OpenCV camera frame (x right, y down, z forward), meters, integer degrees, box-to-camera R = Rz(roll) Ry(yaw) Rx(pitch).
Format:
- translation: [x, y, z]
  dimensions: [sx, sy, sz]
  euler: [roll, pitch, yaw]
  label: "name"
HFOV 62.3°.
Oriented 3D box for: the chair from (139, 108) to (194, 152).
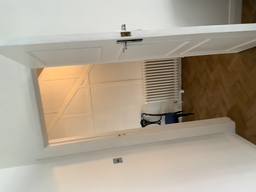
- translation: [0.620, 0.540, 3.570]
  dimensions: [0.520, 0.760, 0.490]
  euler: [-130, 36, -73]
  label: "chair"
